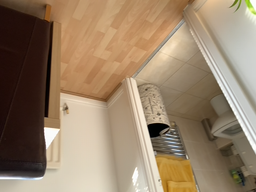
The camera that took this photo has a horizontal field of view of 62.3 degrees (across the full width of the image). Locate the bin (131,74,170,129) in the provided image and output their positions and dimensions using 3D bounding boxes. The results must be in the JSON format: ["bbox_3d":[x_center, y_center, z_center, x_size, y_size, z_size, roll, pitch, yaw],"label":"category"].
[{"bbox_3d":[0.200,0.050,1.940,0.200,0.410,0.210,-23,144,16],"label":"bin"}]

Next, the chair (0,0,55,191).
[{"bbox_3d":[-0.630,-0.100,0.980,0.420,1.080,0.520,11,139,-30],"label":"chair"}]

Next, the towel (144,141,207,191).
[{"bbox_3d":[0.500,0.840,2.030,0.220,0.660,0.650,-32,141,27],"label":"towel"}]
